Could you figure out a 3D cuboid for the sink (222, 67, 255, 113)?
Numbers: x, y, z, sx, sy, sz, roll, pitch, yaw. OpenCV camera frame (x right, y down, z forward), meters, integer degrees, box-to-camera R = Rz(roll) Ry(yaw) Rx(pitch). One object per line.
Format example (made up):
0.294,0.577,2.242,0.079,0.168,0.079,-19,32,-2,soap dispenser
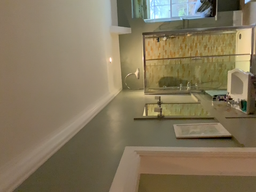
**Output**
1.380,-0.110,2.640,0.680,0.190,0.500,-48,-44,-79,sink
